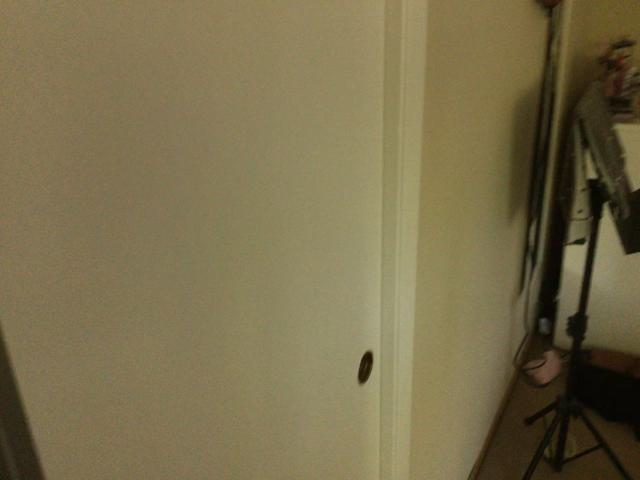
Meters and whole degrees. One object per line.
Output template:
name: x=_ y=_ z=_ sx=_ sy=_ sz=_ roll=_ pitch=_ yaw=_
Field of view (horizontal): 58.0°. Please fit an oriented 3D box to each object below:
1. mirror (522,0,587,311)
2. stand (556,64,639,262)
mirror: x=0.770 y=-0.430 z=1.880 sx=0.090 sy=1.280 sz=0.360 roll=7 pitch=22 yaw=30
stand: x=0.720 y=-0.210 z=1.400 sx=0.190 sy=0.360 sz=0.460 roll=7 pitch=25 yaw=29
